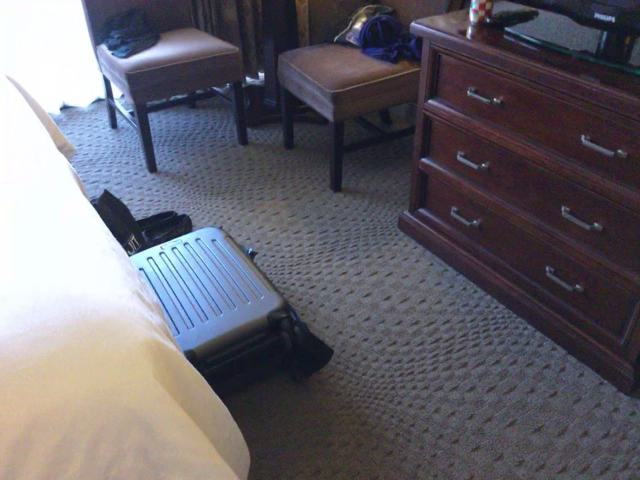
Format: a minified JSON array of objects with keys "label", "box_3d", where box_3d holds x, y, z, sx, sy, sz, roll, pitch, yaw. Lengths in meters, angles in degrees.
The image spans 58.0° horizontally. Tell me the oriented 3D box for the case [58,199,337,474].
[{"label":"case","box_3d":[-0.350,0.210,1.630,0.530,0.290,0.620,-22,38,-27]}]
